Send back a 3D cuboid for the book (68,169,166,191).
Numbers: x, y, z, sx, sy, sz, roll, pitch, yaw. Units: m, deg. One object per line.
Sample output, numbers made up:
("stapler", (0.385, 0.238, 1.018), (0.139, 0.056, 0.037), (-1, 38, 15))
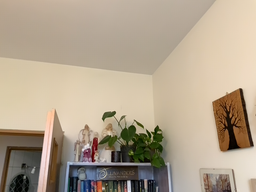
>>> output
("book", (-0.090, 0.780, 1.830), (0.820, 0.280, 0.190), (5, -20, -14))
